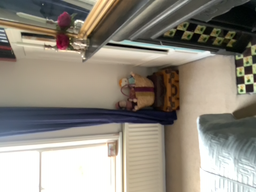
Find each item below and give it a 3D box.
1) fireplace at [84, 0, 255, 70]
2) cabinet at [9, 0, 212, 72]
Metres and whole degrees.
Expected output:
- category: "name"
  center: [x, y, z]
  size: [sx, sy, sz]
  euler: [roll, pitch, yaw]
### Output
- category: "fireplace"
  center: [0.550, -0.480, 1.220]
  size: [1.210, 1.330, 0.380]
  euler: [175, 96, -65]
- category: "cabinet"
  center: [-0.150, -0.560, 2.180]
  size: [0.880, 1.800, 0.390]
  euler: [175, 96, -65]
